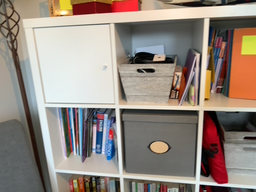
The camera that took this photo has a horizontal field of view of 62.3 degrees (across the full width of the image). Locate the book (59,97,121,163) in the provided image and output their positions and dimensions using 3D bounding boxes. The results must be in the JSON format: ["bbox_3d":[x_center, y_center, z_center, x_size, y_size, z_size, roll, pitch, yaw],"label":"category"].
[{"bbox_3d":[-0.200,0.180,1.220,0.260,0.280,0.250,2,17,11],"label":"book"}]
